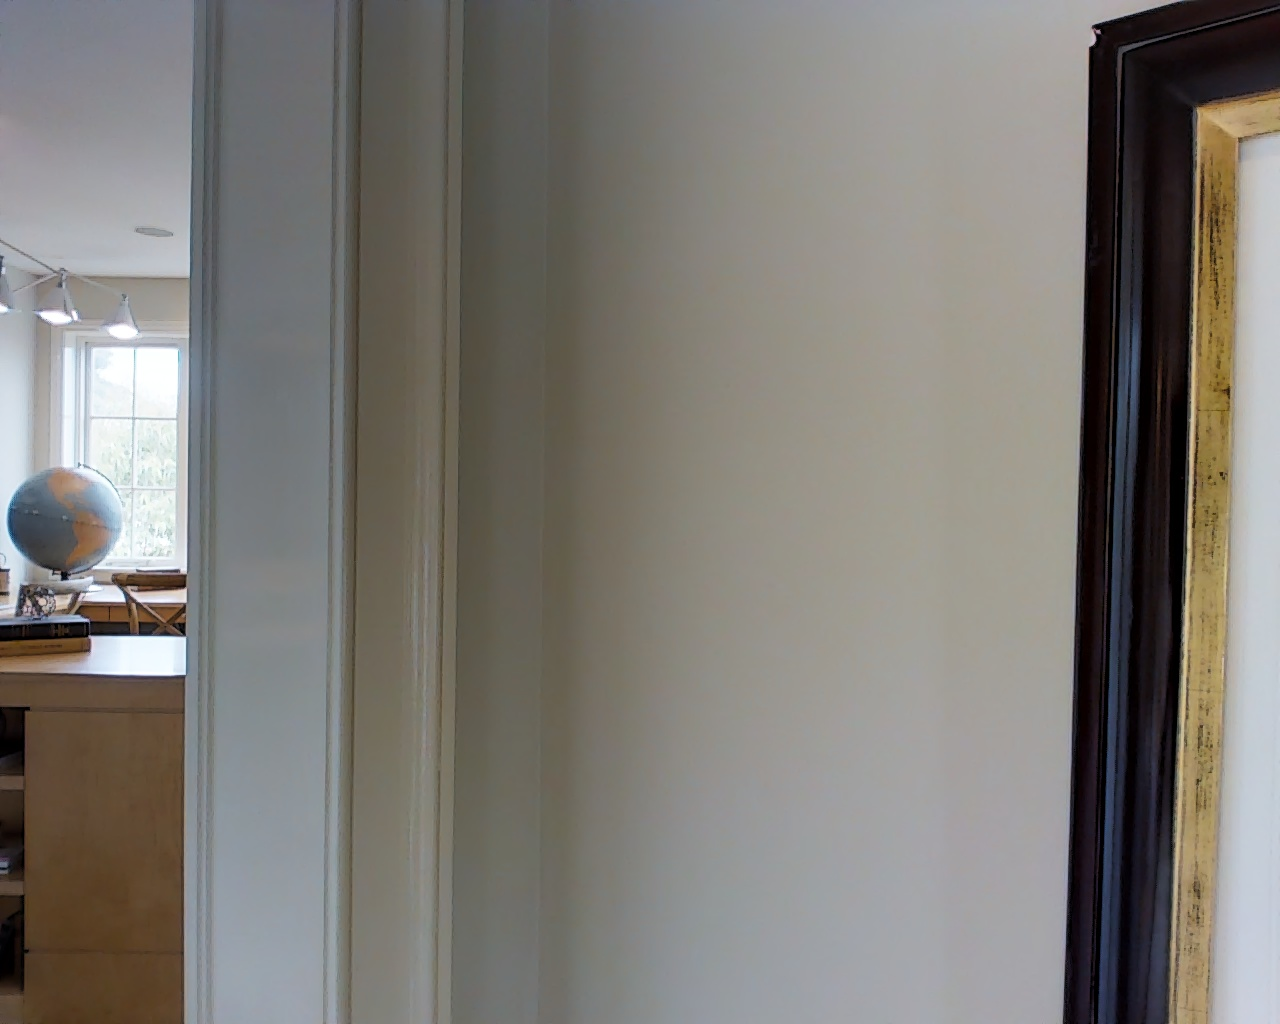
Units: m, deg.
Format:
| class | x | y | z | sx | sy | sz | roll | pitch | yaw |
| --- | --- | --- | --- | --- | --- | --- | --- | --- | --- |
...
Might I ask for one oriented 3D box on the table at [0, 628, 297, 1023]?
| class | x | y | z | sx | sy | sz | roll | pitch | yaw |
| --- | --- | --- | --- | --- | --- | --- | --- | --- | --- |
| table | -1.930 | 0.960 | 3.480 | 1.380 | 1.070 | 0.860 | 0 | 1 | -1 |
